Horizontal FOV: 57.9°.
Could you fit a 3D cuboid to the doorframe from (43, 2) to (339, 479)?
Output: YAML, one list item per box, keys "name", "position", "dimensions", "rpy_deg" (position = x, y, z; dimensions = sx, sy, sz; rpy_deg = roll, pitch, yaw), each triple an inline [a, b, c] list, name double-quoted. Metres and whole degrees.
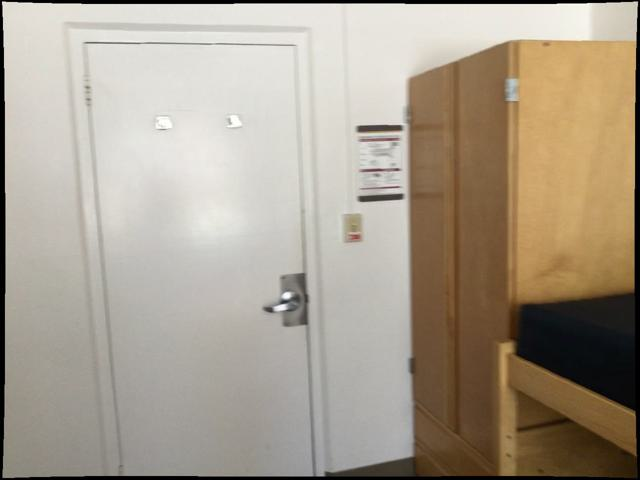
- name: "doorframe"
  position: [-0.450, 0.110, 2.310]
  dimensions: [0.979, 1.992, 0.060]
  rpy_deg: [-5, 8, -17]
